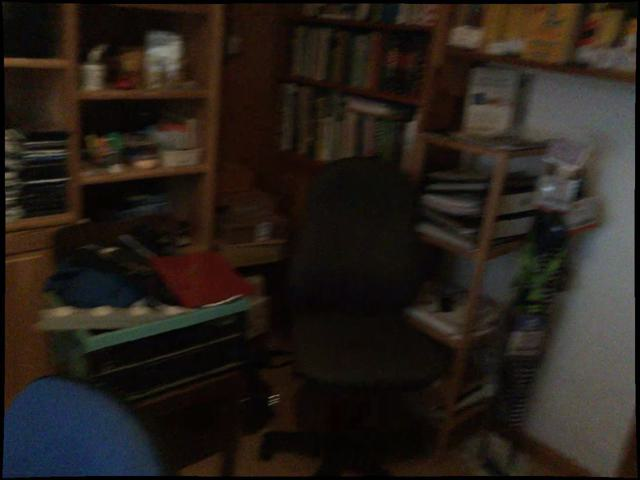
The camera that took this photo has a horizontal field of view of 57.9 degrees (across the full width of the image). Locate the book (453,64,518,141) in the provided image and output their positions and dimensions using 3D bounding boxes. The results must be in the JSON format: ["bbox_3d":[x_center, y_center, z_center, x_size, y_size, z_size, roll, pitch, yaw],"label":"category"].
[{"bbox_3d":[0.599,-0.501,2.100,0.180,0.240,0.080,13,23,14],"label":"book"}]

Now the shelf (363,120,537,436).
[{"bbox_3d":[0.480,0.150,2.280,0.350,1.171,0.310,-13,29,-39],"label":"shelf"}]

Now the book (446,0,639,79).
[{"bbox_3d":[0.739,-0.661,1.840,0.240,0.190,0.620,-13,29,-39],"label":"book"}]

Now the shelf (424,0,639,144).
[{"bbox_3d":[0.809,-0.991,1.690,0.360,1.241,0.730,-13,29,-39],"label":"shelf"}]

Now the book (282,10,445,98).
[{"bbox_3d":[0.140,-0.771,2.350,0.130,0.240,0.770,-13,29,-39],"label":"book"}]

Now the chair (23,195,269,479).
[{"bbox_3d":[-0.569,0.370,1.860,0.480,0.831,0.610,-13,29,-39],"label":"chair"}]

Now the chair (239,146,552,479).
[{"bbox_3d":[0.160,0.290,1.910,0.639,1.061,0.630,-4,24,-24],"label":"chair"}]
